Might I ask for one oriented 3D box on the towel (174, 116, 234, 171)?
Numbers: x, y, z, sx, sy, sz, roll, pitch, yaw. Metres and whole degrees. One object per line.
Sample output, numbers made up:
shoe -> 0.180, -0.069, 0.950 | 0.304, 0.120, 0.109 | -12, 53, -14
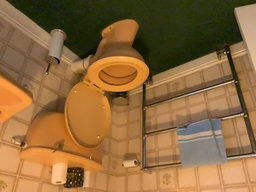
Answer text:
towel -> 0.500, 0.330, 1.450 | 0.330, 0.310, 0.080 | -19, 144, 30
